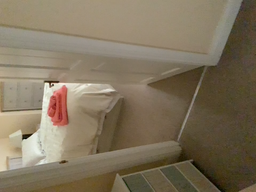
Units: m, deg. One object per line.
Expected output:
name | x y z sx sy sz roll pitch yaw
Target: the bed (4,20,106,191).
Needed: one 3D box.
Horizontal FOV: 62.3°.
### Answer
bed | -1.120 0.360 2.690 1.480 0.700 2.090 49 131 45
